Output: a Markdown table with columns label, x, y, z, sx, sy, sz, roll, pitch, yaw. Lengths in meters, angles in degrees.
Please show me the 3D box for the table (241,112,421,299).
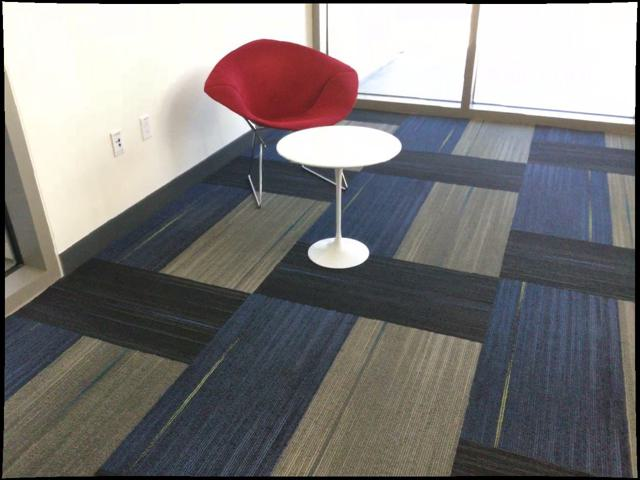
| label | x | y | z | sx | sy | sz | roll | pitch | yaw |
| --- | --- | --- | --- | --- | --- | --- | --- | --- | --- |
| table | 0.070 | -0.180 | 2.510 | 0.569 | 0.541 | 0.570 | 11 | 32 | 21 |
